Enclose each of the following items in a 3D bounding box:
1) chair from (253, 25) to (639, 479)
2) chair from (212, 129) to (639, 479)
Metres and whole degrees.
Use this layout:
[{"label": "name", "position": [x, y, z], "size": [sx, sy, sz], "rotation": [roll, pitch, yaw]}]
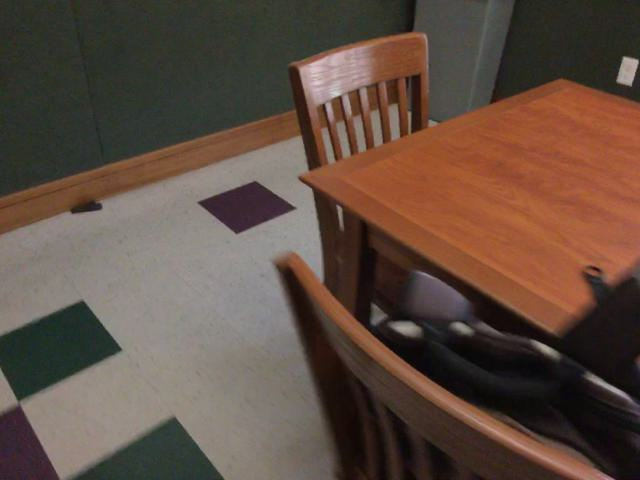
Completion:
[{"label": "chair", "position": [0.250, 0.040, 1.410], "size": [0.470, 0.890, 0.660], "rotation": [-26, 42, -32]}, {"label": "chair", "position": [0.250, 0.380, 0.920], "size": [0.570, 0.870, 0.490], "rotation": [-26, 42, -33]}]
